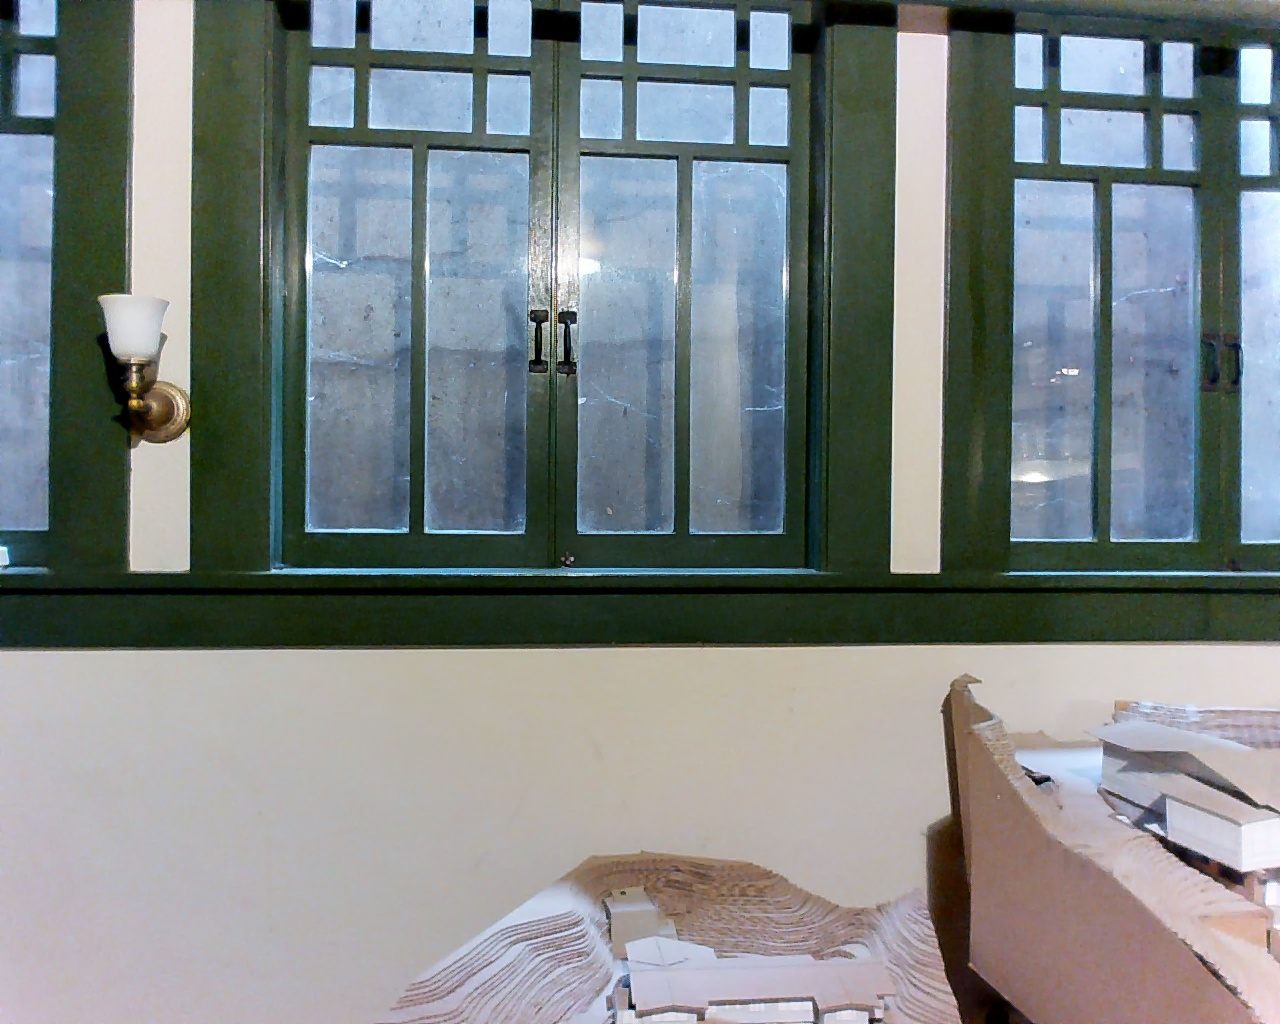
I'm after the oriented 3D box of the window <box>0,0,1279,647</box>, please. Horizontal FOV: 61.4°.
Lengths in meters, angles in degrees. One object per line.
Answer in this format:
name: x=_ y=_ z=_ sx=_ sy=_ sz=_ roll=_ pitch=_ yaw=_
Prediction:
window: x=0.080 y=-0.460 z=2.310 sx=4.399 sy=1.450 sz=0.150 roll=0 pitch=1 yaw=-6
